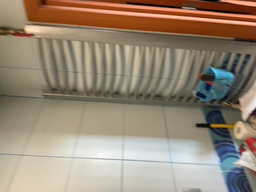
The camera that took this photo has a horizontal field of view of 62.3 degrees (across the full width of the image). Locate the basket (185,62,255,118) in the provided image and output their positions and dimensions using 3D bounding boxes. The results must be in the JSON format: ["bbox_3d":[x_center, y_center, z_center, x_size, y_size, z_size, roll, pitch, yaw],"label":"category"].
[{"bbox_3d":[0.510,-0.030,1.160,0.150,0.300,0.250,-89,5,-46],"label":"basket"}]
